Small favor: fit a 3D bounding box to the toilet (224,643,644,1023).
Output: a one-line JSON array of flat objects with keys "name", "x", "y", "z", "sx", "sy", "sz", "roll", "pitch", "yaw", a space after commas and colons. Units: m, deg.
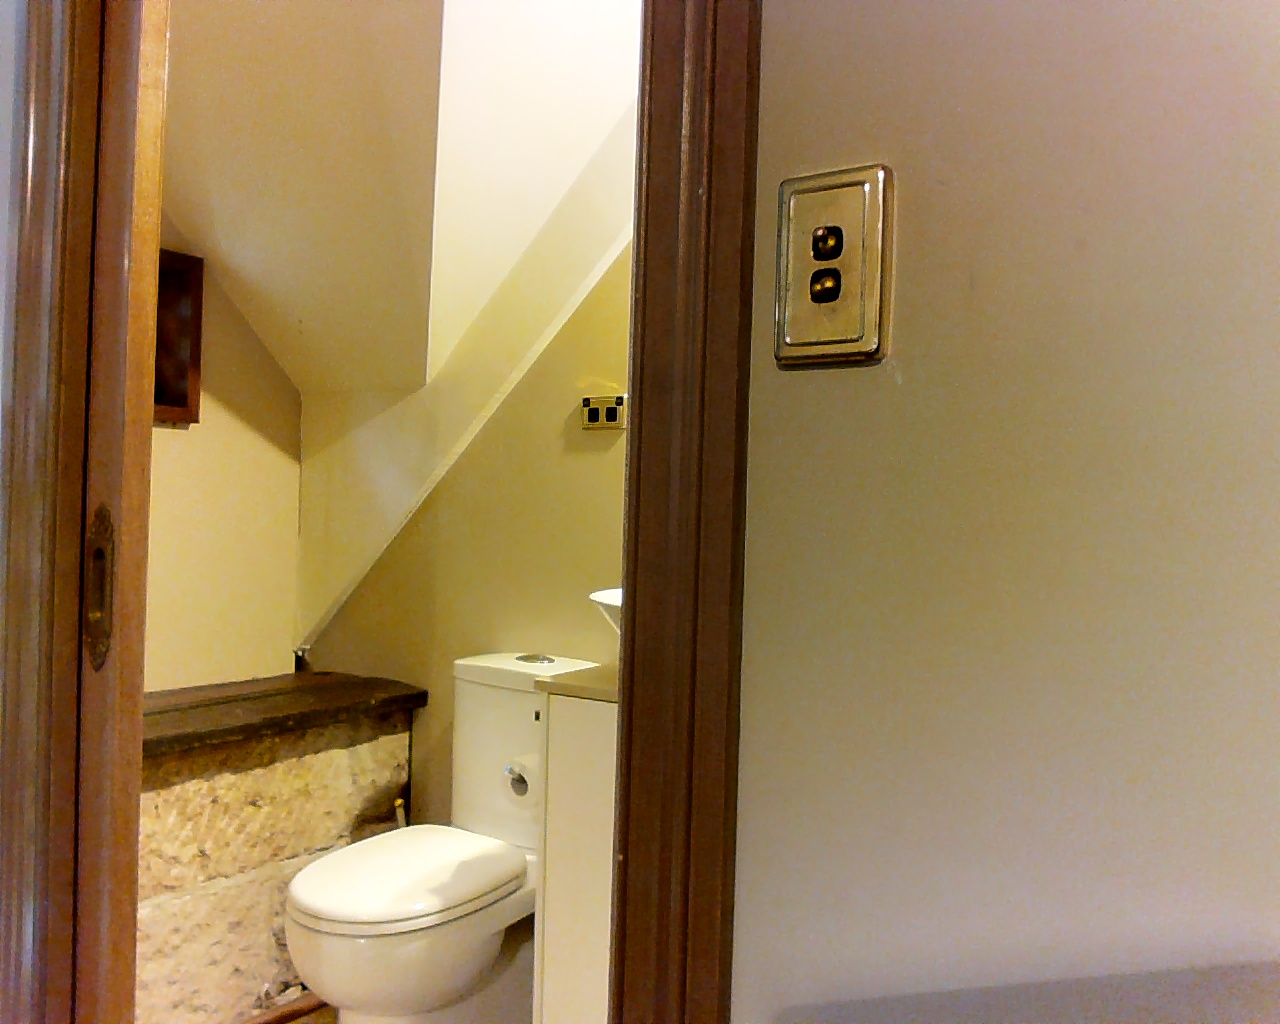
[{"name": "toilet", "x": -0.370, "y": 0.710, "z": 2.080, "sx": 0.430, "sy": 0.820, "sz": 0.670, "roll": 2, "pitch": 0, "yaw": 34}]
